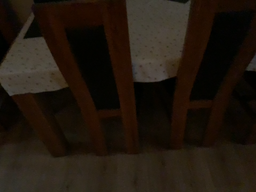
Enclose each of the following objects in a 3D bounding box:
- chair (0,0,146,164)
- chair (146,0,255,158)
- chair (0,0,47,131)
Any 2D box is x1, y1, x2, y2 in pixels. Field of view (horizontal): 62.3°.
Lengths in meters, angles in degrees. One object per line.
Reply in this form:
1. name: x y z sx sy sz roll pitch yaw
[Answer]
1. chair: -0.140 -0.130 1.240 0.440 1.070 0.580 -3 46 4
2. chair: 0.360 -0.170 1.240 0.440 1.050 0.570 -5 46 2
3. chair: -0.980 -0.310 1.520 0.420 1.050 0.570 -13 47 -6
